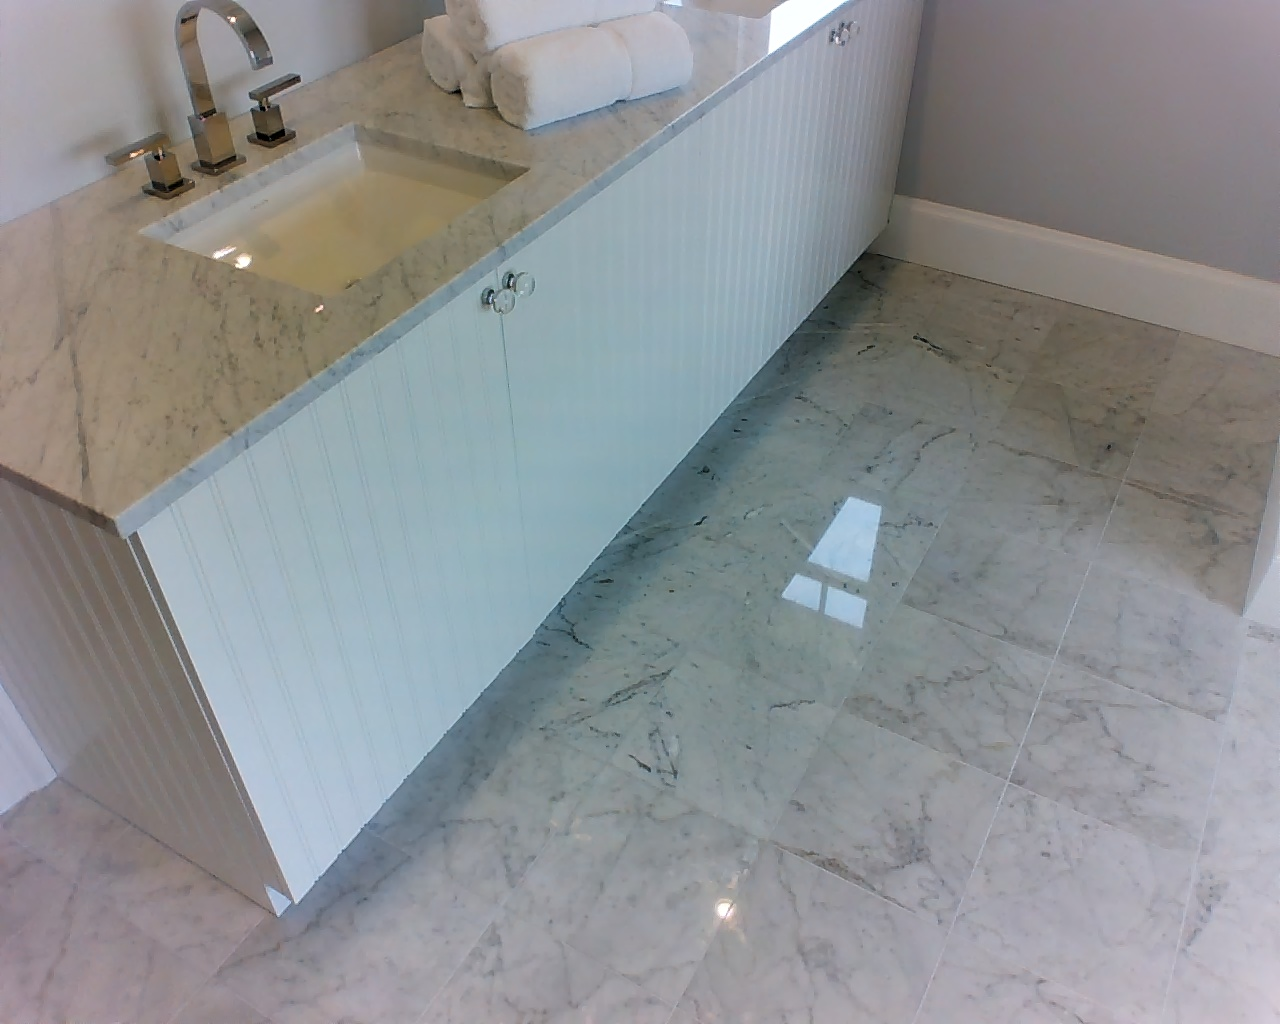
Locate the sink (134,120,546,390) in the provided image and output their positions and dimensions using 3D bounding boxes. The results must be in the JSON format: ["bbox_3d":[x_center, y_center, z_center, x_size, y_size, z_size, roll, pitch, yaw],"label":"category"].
[{"bbox_3d":[-0.420,-0.400,1.590,0.370,0.140,0.440,20,45,22],"label":"sink"}]

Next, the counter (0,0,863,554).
[{"bbox_3d":[-0.160,-0.800,1.950,0.630,0.050,2.500,20,45,22],"label":"counter"}]

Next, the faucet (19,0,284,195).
[{"bbox_3d":[-0.710,-0.660,1.620,0.020,0.220,0.400,20,45,22],"label":"faucet"}]
